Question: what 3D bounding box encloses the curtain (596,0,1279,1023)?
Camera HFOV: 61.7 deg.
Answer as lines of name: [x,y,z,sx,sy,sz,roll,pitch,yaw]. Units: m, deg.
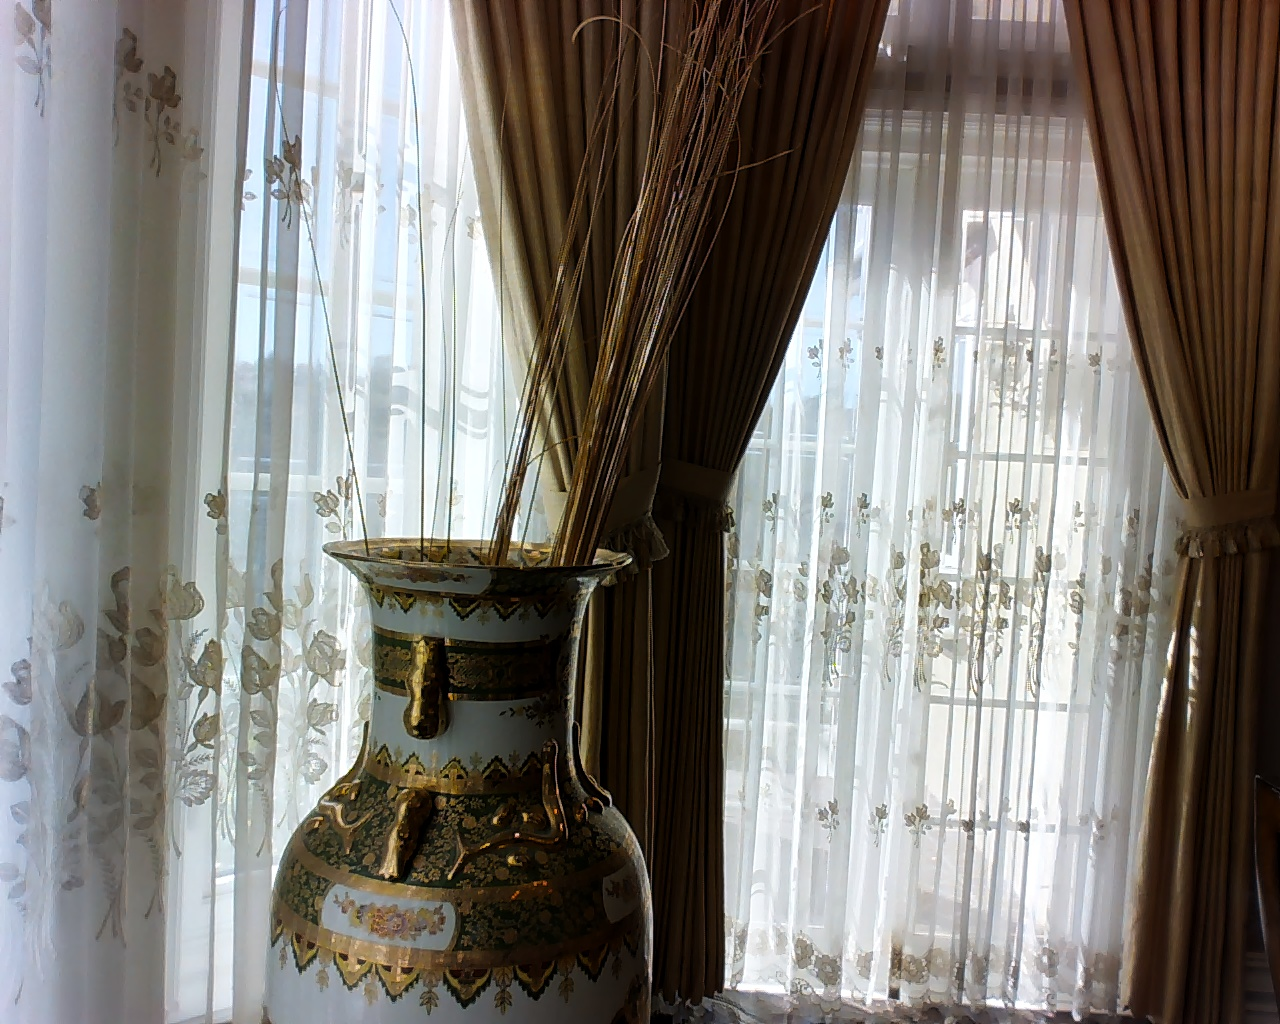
curtain: [0.910,-0.540,2.800,1.790,3.839,0.400,4,2,1]
